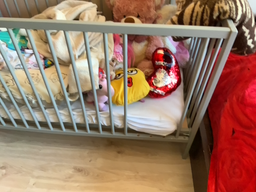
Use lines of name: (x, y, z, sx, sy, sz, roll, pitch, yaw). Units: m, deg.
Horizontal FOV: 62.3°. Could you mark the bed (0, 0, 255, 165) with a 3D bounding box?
bed: (-0.240, -0.220, 1.180, 1.330, 0.870, 0.720, 5, 47, 4)
